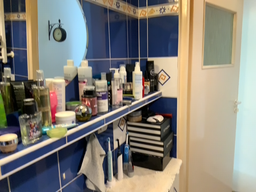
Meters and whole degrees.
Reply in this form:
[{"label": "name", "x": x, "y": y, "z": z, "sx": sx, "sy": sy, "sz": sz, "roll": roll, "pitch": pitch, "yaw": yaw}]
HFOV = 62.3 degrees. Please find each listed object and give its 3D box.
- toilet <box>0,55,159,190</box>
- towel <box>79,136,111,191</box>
[{"label": "toilet", "x": -0.180, "y": 0.000, "z": 0.840, "sx": 0.170, "sy": 0.310, "sz": 1.130, "roll": 5, "pitch": 12, "yaw": 31}, {"label": "towel", "x": -0.150, "y": 0.340, "z": 0.990, "sx": 0.060, "sy": 0.260, "sz": 0.140, "roll": 5, "pitch": 12, "yaw": 29}]
